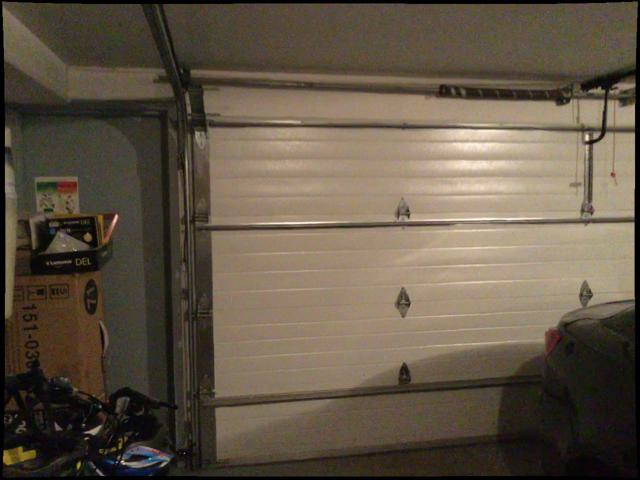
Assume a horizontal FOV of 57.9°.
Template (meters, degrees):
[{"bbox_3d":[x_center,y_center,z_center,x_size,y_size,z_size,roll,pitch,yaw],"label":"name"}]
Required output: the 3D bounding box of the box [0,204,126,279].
[{"bbox_3d":[-1.239,-0.010,2.630,0.599,0.280,0.510,-1,6,-10],"label":"box"}]
